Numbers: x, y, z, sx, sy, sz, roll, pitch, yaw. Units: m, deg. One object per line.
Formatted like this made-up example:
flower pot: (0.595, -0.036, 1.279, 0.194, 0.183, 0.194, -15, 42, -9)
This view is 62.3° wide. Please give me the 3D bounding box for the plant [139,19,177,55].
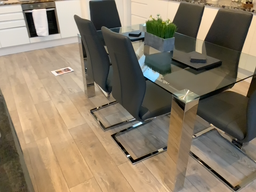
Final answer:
plant: (0.240, -0.500, 1.770, 0.170, 0.220, 0.270, -17, 35, -25)
